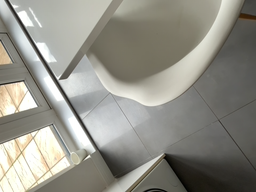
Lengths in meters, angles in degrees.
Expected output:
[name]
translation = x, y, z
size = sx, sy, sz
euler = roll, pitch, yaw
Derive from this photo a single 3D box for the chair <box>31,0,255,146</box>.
[chair]
translation = 0.190, -0.330, 0.910
size = 0.600, 0.780, 0.620
euler = 54, 126, 12
